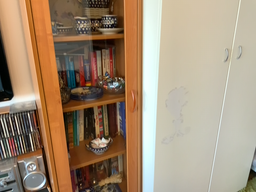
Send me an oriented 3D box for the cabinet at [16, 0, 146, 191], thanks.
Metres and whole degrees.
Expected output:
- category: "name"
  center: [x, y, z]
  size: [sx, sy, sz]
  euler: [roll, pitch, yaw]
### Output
- category: "cabinet"
  center: [-0.260, 0.030, 1.210]
  size: [0.480, 2.010, 0.530]
  euler: [-11, 23, -27]
